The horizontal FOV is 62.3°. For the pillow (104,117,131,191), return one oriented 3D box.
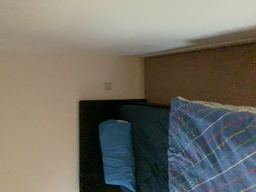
[{"bbox_3d":[-0.090,0.580,2.110,0.160,0.380,0.680,-3,95,7],"label":"pillow"}]
